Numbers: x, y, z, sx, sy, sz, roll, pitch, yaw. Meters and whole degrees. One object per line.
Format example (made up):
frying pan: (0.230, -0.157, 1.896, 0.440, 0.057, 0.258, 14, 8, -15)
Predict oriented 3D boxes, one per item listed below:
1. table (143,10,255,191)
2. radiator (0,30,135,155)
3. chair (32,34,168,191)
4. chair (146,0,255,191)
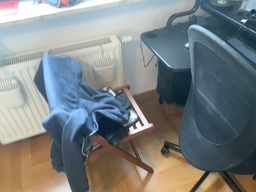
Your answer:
table: (0.720, 0.150, 1.280, 0.700, 0.680, 1.490, -16, 45, -14)
radiator: (-0.480, 0.000, 1.440, 1.040, 0.680, 0.180, -14, 45, -11)
chair: (-0.150, 0.140, 1.270, 0.550, 0.780, 0.460, -14, 45, -12)
chair: (0.520, 0.100, 1.120, 0.650, 0.990, 0.560, -16, 45, -14)
